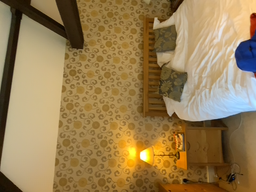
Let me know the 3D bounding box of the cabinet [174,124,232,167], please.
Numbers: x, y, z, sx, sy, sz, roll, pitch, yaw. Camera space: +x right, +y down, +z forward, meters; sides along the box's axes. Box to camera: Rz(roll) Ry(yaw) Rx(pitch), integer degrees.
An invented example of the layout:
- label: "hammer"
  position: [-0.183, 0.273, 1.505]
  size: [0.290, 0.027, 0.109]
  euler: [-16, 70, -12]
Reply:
- label: "cabinet"
  position: [1.010, 0.680, 2.950]
  size: [0.460, 0.580, 0.530]
  euler: [116, 156, -76]
